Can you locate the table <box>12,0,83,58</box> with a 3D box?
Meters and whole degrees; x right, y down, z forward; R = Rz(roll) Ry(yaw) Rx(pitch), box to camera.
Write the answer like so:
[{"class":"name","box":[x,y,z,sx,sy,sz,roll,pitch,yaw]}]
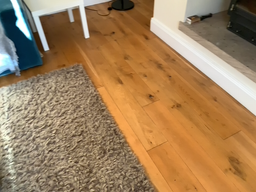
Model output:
[{"class":"table","box":[-0.940,-0.890,2.480,0.570,0.520,0.600,-20,49,-18]}]
